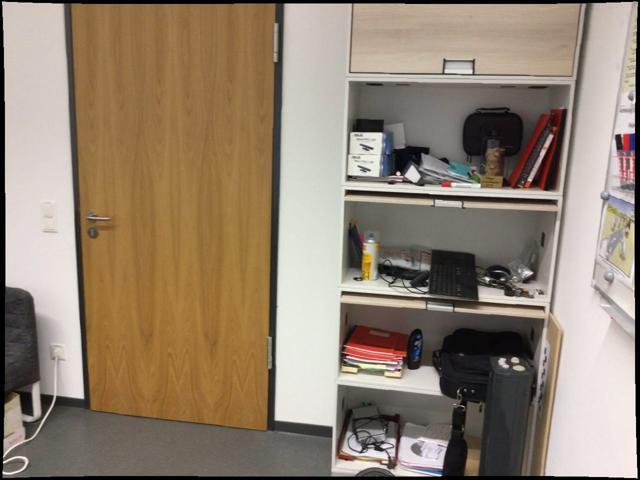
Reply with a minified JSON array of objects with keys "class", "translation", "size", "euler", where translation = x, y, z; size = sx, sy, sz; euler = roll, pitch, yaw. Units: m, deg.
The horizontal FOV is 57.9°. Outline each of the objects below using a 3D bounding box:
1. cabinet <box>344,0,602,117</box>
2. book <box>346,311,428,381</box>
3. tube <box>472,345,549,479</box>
[{"class":"cabinet","translation":[0.539,-0.991,2.130],"size":[0.829,1.031,0.480],"euler":[3,13,8]},{"class":"book","translation":[0.280,0.430,2.400],"size":[0.310,0.150,0.320],"euler":[3,13,8]},{"class":"tube","translation":[0.669,0.741,2.080],"size":[0.180,0.671,0.220],"euler":[3,13,8]}]
